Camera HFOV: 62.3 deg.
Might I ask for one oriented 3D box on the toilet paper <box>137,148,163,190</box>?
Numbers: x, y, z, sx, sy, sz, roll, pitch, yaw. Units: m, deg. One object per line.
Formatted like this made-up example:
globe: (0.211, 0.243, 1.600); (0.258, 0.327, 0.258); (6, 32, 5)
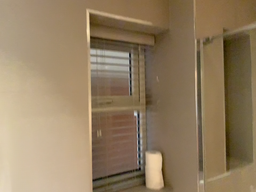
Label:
toilet paper: (0.140, 0.460, 1.360); (0.100, 0.210, 0.130); (-1, 0, -33)
